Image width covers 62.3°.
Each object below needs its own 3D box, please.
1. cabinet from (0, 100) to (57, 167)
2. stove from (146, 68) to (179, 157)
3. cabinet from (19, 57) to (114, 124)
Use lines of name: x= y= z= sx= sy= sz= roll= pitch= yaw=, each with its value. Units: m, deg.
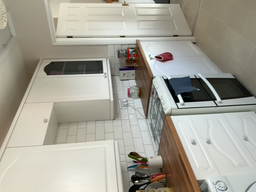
cabinet: x=-0.950 y=0.350 z=2.120 sx=0.560 sy=0.340 sz=0.340 roll=-101 pitch=12 yaw=-52
stove: x=0.320 y=0.160 z=2.190 sx=0.620 sy=0.090 sz=0.680 roll=-101 pitch=12 yaw=-52
cabinet: x=-0.720 y=-0.130 z=2.780 sx=1.010 sy=1.000 sz=0.320 roll=-101 pitch=12 yaw=-52
